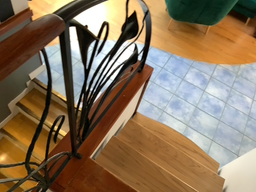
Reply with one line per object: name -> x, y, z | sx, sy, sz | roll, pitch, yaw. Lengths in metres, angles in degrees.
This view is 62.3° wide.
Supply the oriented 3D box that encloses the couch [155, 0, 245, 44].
couch -> 1.010, -1.470, 3.250 | 0.970, 0.820, 0.830 | 8, 55, -8
